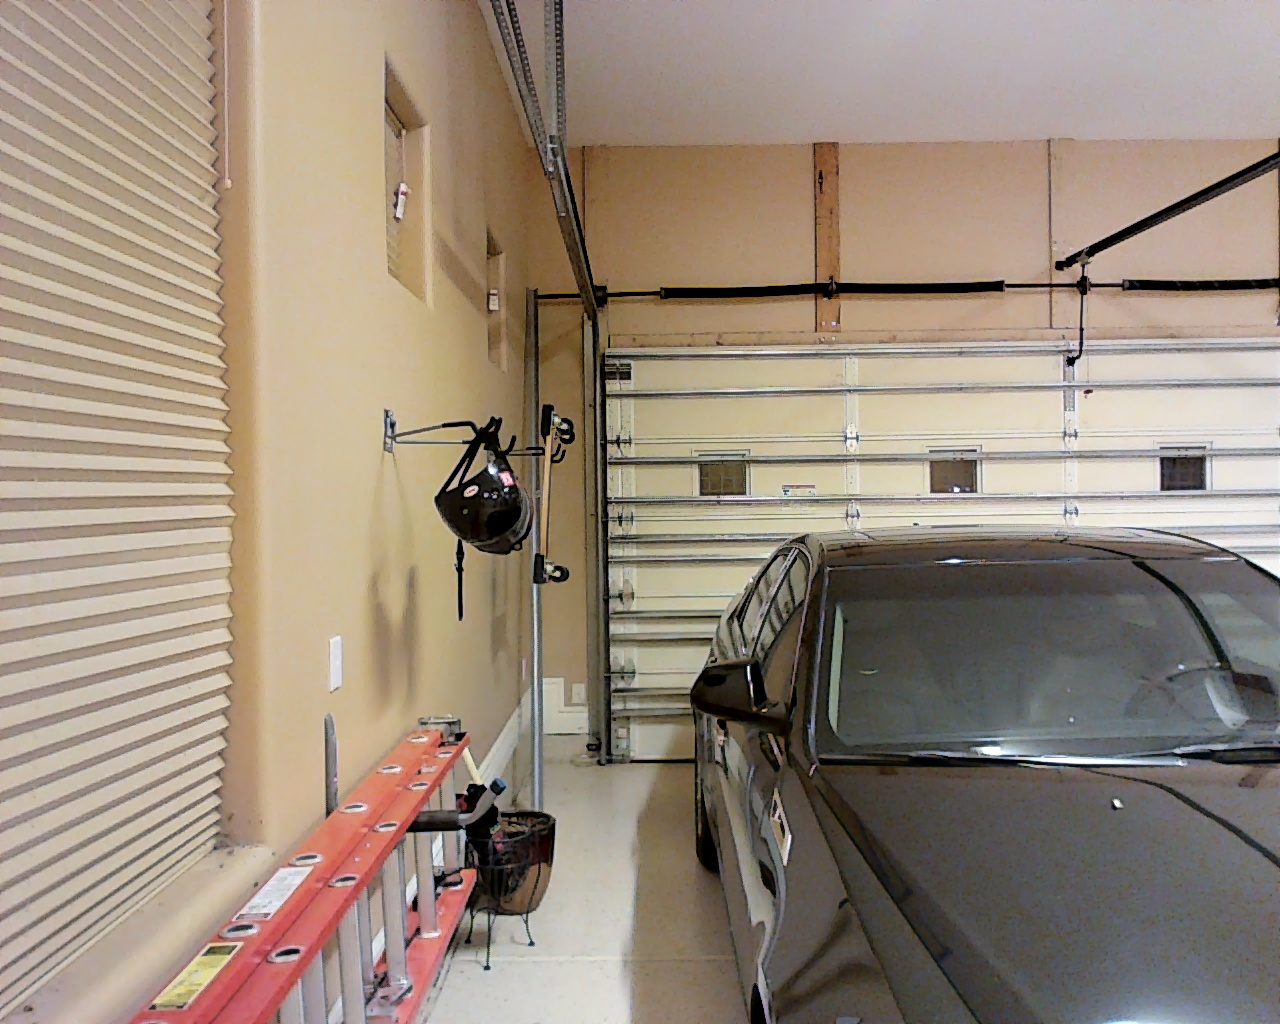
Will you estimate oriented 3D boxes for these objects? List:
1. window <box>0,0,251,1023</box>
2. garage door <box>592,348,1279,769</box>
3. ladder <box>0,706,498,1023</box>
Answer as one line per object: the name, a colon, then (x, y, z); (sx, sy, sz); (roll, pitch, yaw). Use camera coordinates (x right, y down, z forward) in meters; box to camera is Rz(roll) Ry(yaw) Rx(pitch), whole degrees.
window: (-0.740, -0.280, 1.370); (0.100, 1.770, 1.080); (0, 1, -1)
garage door: (2.590, 0.260, 6.320); (5.730, 2.410, 0.280); (0, 1, -2)
ladder: (-0.560, 0.850, 1.120); (0.370, 0.530, 3.950); (0, 1, -1)
